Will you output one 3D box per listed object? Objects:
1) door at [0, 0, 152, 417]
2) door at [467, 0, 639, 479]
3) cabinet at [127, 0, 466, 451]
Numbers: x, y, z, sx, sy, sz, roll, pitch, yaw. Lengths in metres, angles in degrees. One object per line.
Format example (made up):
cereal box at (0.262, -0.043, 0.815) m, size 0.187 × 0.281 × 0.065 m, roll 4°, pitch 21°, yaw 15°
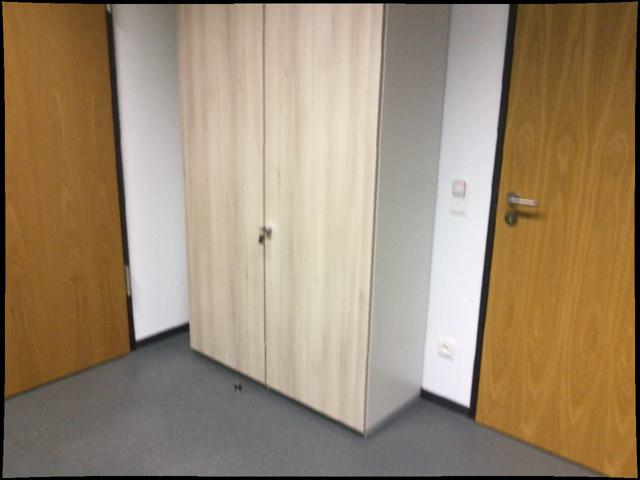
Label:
door at (-1.249, -0.320, 2.570) m, size 0.190 × 2.102 × 0.850 m, roll 12°, pitch 19°, yaw 42°
door at (1.089, -0.180, 1.940) m, size 1.029 × 2.212 × 0.180 m, roll 15°, pitch 22°, yaw 41°
cabinet at (-0.180, -0.440, 2.680) m, size 1.459 × 2.242 × 0.620 m, roll 15°, pitch 22°, yaw 41°
